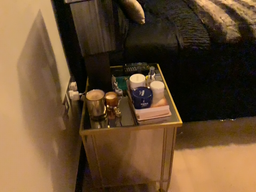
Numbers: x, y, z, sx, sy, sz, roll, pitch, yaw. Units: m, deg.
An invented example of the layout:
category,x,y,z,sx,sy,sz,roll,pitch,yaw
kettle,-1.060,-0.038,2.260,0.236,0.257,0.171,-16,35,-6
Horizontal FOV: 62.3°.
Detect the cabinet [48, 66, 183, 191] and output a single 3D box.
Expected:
category,x,y,z,sx,sy,sz,roll,pitch,yaw
cabinet,-0.050,0.200,1.170,0.530,0.530,0.450,-5,37,-2
